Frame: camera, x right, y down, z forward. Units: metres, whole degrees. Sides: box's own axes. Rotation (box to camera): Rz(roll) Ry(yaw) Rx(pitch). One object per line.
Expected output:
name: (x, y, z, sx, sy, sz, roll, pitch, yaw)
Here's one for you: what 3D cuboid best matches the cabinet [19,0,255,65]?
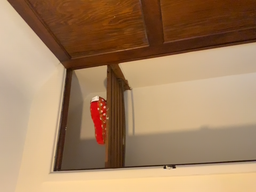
cabinet: (0.410, -0.450, 0.930, 0.630, 1.740, 0.030, 64, -158, -60)
